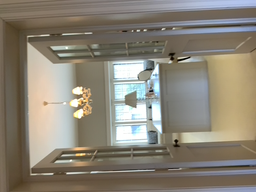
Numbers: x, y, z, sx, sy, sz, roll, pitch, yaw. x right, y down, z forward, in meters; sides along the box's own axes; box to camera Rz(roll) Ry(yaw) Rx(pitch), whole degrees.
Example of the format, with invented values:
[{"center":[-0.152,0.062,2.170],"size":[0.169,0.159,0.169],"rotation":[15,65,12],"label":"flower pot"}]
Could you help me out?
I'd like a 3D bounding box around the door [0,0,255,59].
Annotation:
[{"center":[0.210,-0.540,1.760],"size":[0.910,2.040,0.070],"rotation":[84,-176,-80],"label":"door"}]
